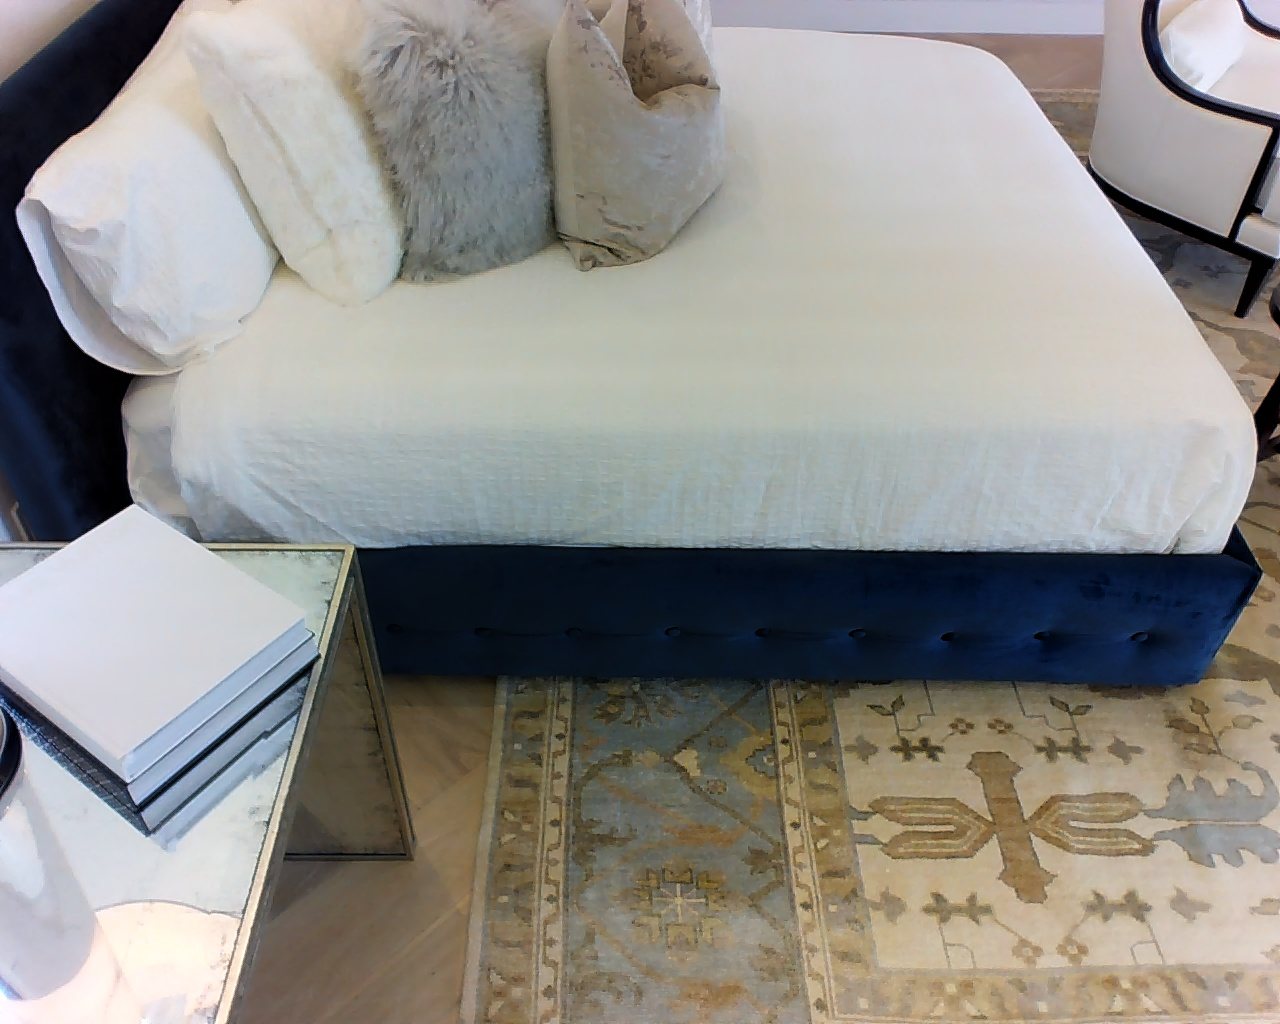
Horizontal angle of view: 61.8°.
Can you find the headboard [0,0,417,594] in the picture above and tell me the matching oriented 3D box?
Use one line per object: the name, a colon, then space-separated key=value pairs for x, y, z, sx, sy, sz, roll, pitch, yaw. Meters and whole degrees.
headboard: x=-0.900 y=-0.850 z=2.450 sx=0.340 sy=0.790 sz=2.110 roll=0 pitch=42 yaw=0
